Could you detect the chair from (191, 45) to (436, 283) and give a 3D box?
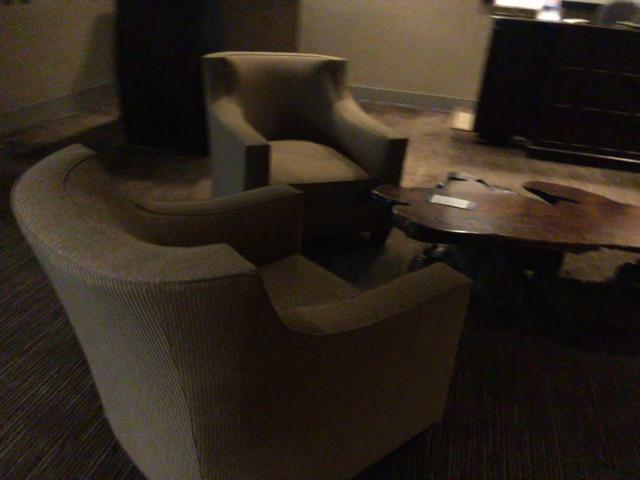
[{"bbox_3d":[-0.090,-0.470,3.000,0.890,0.880,0.980,-10,28,-20],"label":"chair"}]

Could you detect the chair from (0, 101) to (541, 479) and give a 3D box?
[{"bbox_3d":[-0.190,0.220,1.590,1.070,0.890,0.960,-21,33,-37],"label":"chair"}]
